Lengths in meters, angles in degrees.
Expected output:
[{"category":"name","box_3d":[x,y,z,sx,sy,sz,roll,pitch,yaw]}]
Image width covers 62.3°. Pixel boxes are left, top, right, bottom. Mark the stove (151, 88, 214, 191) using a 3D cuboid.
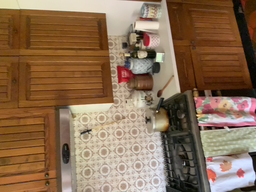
[{"category":"stove","box_3d":[0.410,0.520,1.710,0.680,0.080,1.020,136,129,-70]}]
